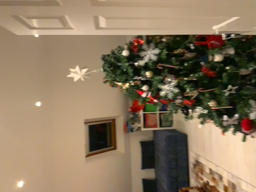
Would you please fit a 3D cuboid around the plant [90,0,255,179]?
[{"bbox_3d":[0.590,-0.140,1.780,1.110,1.690,1.110,-169,78,-84],"label":"plant"}]
